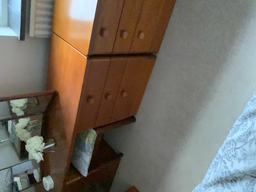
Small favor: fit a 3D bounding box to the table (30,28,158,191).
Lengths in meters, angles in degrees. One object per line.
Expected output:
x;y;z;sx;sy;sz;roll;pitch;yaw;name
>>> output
-0.390;0.320;1.880;0.520;0.630;1.640;38;123;34;table
